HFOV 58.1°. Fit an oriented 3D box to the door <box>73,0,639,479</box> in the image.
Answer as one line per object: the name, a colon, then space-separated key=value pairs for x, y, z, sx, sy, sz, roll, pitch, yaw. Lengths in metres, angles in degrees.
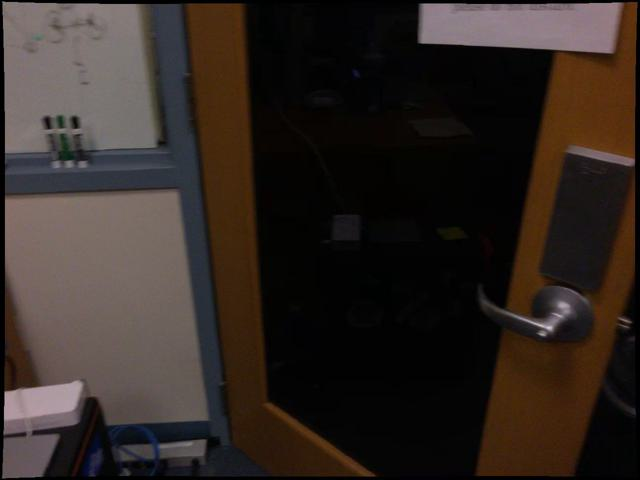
door: x=0.070 y=0.180 z=1.200 sx=1.058 sy=1.353 sz=0.300 roll=20 pitch=36 yaw=30
